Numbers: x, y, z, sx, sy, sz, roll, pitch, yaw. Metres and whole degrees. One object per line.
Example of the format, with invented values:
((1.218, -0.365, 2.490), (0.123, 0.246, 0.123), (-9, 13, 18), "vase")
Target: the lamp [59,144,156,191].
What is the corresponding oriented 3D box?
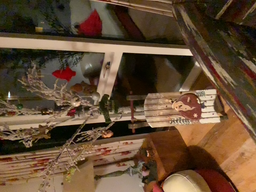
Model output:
((-0.240, 0.860, 2.270), (0.480, 0.890, 0.370), (112, 147, -44), "lamp")
